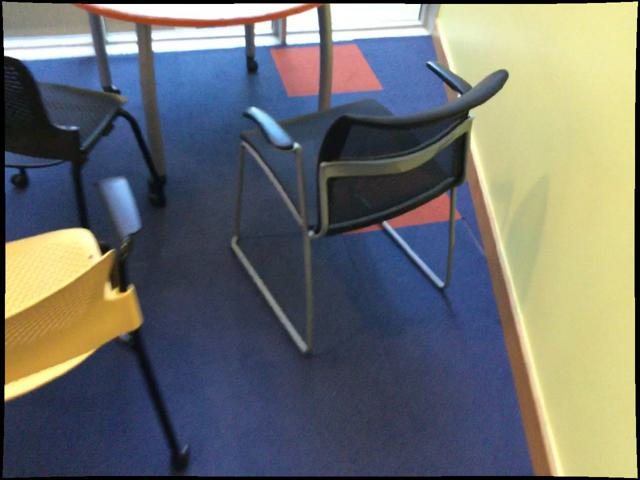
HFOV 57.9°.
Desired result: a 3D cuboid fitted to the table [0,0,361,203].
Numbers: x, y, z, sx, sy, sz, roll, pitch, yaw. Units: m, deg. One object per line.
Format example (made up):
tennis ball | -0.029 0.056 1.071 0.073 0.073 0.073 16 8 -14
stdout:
table | -0.430 -0.791 2.230 1.079 0.680 1.081 3 46 -1
